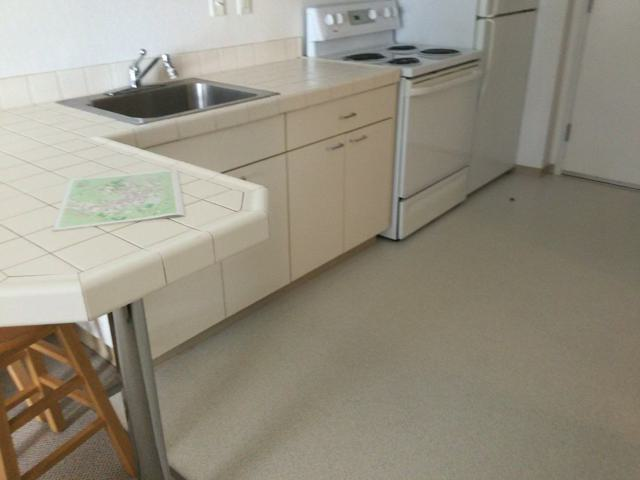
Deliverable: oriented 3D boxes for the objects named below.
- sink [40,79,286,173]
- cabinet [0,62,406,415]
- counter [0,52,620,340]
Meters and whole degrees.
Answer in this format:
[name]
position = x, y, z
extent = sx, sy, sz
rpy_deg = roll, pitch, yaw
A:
[sink]
position = -0.560, -0.450, 2.130
extent = 0.580, 0.160, 0.640
rpy_deg = 17, 30, 36
[cabinet]
position = -0.310, -0.170, 2.450
extent = 0.540, 0.930, 1.610
rpy_deg = 17, 30, 36
[counter]
position = 0.000, -0.520, 2.180
extent = 1.360, 0.100, 2.910
rpy_deg = 15, 28, 37
